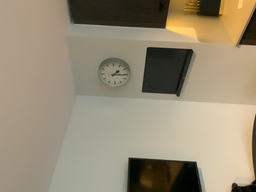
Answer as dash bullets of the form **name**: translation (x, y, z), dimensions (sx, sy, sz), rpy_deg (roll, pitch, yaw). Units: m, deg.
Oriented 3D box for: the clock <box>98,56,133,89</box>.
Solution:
- **clock**: translation (-0.120, -0.210, 1.980), dimensions (0.350, 0.300, 0.030), rpy_deg (95, 179, -49)
